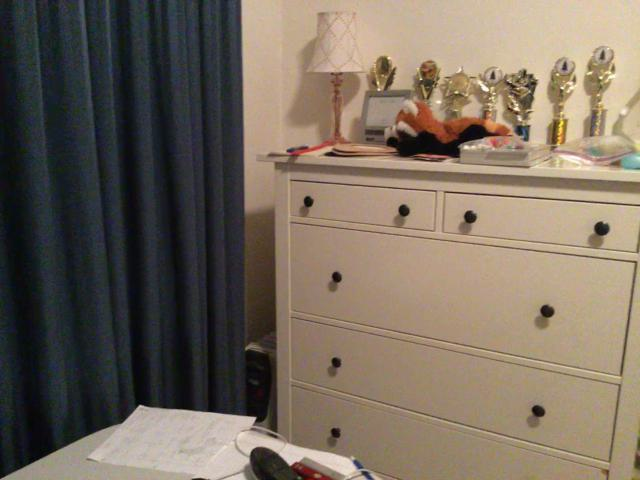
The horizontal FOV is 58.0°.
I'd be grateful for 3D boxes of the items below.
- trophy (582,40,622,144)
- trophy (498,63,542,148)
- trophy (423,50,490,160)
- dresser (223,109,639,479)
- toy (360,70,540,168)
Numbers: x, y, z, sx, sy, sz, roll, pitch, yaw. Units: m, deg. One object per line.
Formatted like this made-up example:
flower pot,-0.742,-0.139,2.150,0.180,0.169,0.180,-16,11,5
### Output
trophy,0.790,-0.410,1.620,0.090,0.270,0.070,2,12,32
trophy,0.600,-0.400,1.730,0.090,0.230,0.070,-4,9,32
trophy,0.430,-0.420,1.820,0.140,0.310,0.070,-8,6,33
dresser,0.420,0.370,1.740,1.210,1.410,0.540,2,12,32
toy,0.360,-0.330,1.620,0.430,0.170,0.200,-6,7,33
